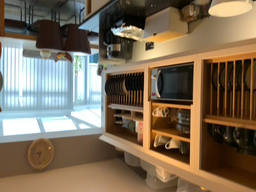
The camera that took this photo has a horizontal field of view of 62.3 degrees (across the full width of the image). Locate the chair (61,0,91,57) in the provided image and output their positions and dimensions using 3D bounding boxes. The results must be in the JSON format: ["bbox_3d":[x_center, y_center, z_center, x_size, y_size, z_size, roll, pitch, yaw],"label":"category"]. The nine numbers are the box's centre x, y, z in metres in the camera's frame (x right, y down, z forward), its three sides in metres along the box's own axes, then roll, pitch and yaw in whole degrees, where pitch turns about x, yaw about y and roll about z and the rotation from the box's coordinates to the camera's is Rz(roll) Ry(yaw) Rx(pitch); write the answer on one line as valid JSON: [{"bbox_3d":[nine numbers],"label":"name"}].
[{"bbox_3d":[-0.950,-1.250,3.880,0.500,0.950,0.530,0,-178,-15],"label":"chair"}]

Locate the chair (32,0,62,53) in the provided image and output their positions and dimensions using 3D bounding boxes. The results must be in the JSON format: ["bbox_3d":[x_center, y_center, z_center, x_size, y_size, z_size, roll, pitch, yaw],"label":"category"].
[{"bbox_3d":[-1.390,-1.260,3.700,0.430,0.920,0.530,0,-178,-15],"label":"chair"}]
